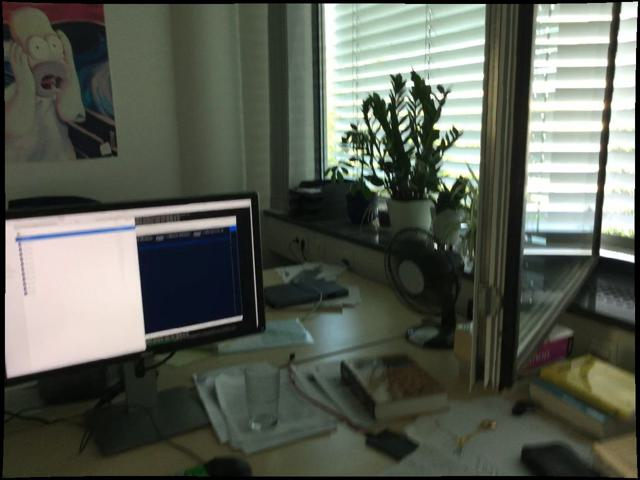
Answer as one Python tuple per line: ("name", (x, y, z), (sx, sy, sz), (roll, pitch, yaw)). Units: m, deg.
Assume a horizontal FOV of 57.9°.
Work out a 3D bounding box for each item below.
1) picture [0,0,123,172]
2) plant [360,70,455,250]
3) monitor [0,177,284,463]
("picture", (-1.279, -0.791, 2.740), (0.540, 0.881, 0.110), (-9, 15, -25))
("plant", (0.350, -0.330, 2.340), (0.200, 0.661, 0.360), (-9, 15, -25))
("monitor", (-0.410, 0.140, 1.270), (0.630, 0.480, 0.150), (-10, 15, -28))
